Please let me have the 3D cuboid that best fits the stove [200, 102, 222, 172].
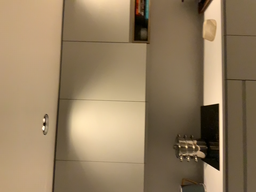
[{"bbox_3d":[0.810,0.380,2.100,0.540,0.010,0.600,82,-169,-84],"label":"stove"}]
